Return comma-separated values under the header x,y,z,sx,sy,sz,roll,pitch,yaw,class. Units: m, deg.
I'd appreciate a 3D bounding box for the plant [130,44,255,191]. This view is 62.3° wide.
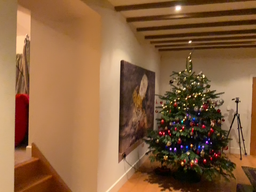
x,y,z,sx,sy,sz,roll,pitch,yaw,class
1.190,0.330,3.920,1.810,2.150,1.630,2,2,19,plant
